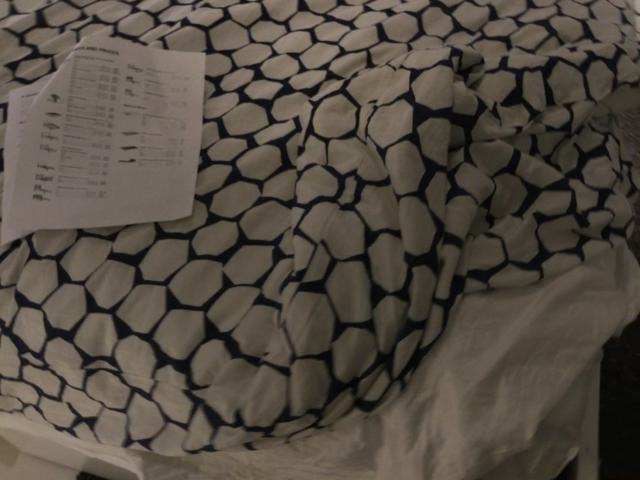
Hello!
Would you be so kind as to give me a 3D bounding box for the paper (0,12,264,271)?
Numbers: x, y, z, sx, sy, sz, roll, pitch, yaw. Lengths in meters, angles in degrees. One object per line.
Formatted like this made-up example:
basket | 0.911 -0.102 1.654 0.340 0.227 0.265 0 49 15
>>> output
paper | -0.260 -0.140 0.750 0.320 0.130 0.280 -12 48 -4
